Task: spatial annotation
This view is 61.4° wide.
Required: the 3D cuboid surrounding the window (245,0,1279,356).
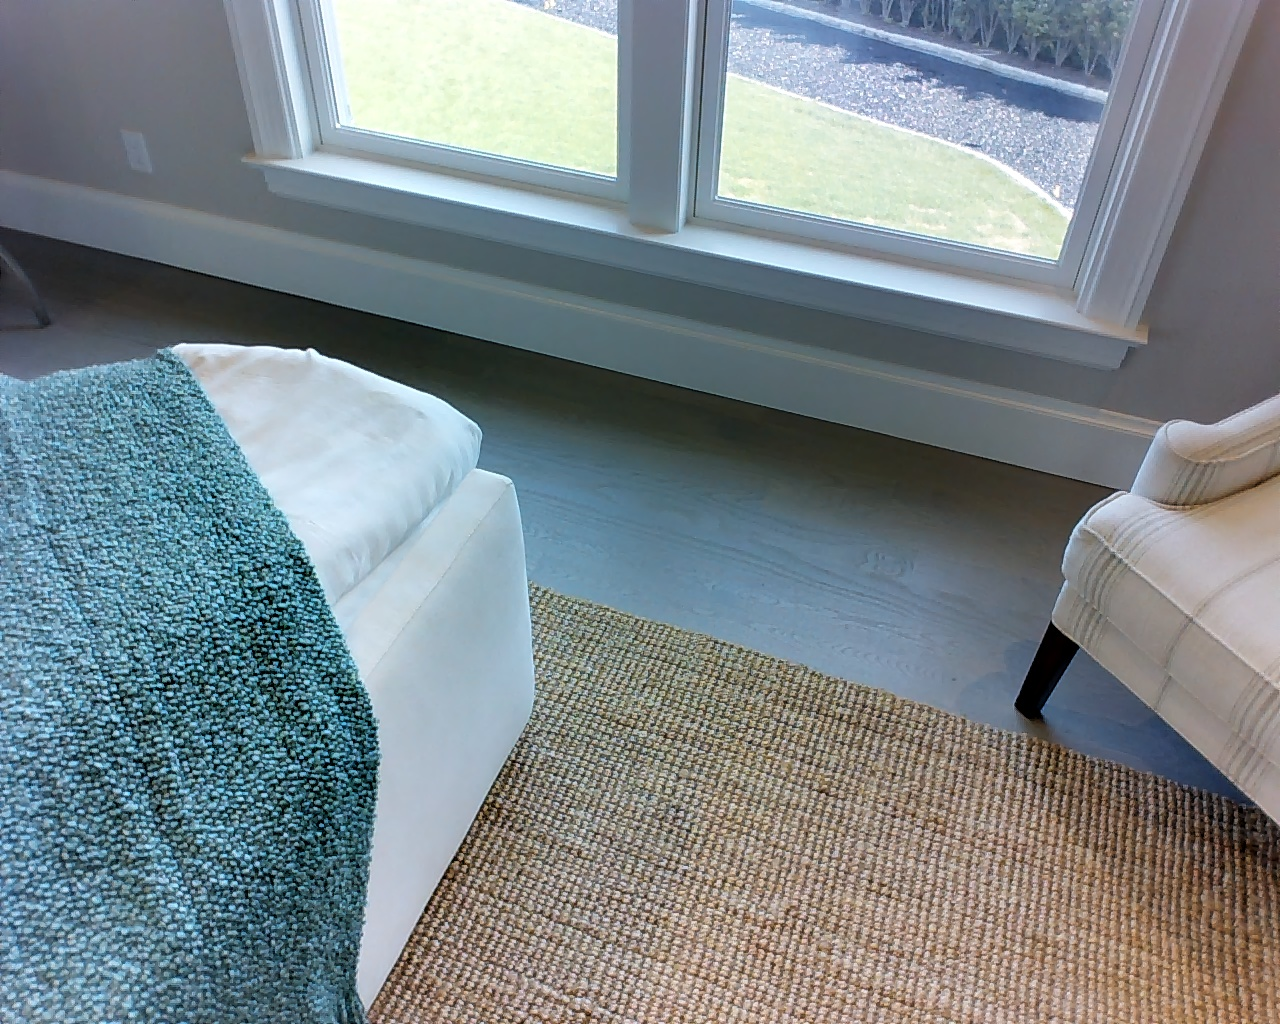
[{"bbox_3d":[0.120,-1.280,1.970,2.070,1.720,0.200,15,44,14],"label":"window"}]
